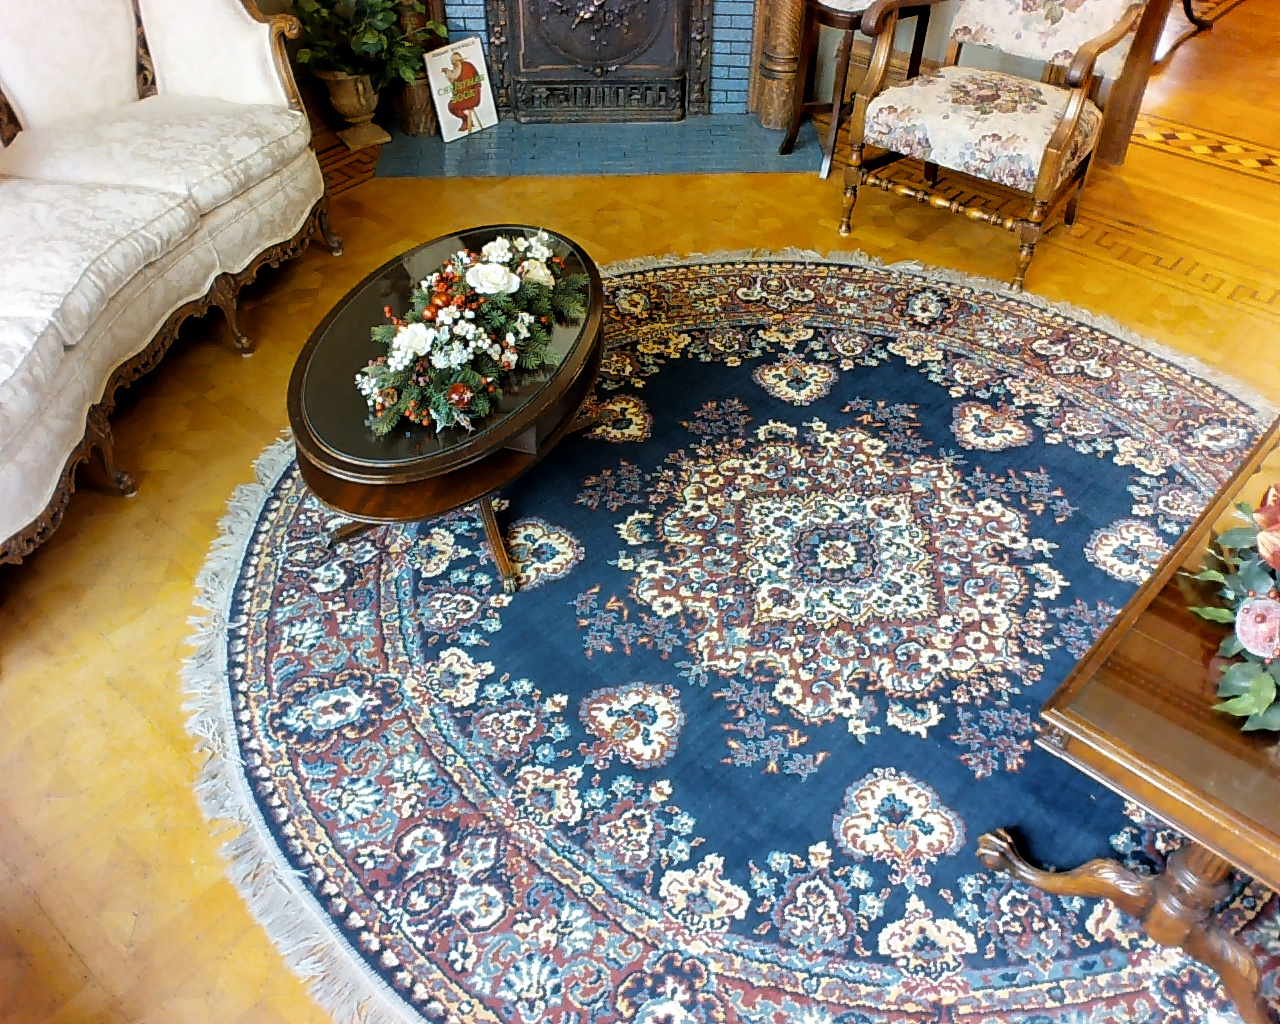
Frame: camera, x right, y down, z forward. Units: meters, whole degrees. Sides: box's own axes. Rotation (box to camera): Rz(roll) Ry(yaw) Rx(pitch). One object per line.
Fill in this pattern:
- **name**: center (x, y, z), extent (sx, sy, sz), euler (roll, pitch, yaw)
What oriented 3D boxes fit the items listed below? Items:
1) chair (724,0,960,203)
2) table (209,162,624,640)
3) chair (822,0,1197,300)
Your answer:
- **chair**: center (0.660, -1.440, 3.560), extent (0.440, 0.520, 0.630), euler (31, 51, 29)
- **table**: center (-0.370, -0.270, 2.220), extent (0.540, 0.500, 0.900), euler (5, 43, 6)
- **chair**: center (1.070, -1.310, 3.060), extent (0.640, 1.000, 0.810), euler (31, 51, 29)
